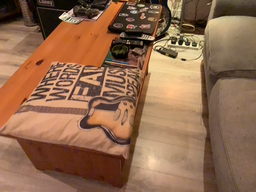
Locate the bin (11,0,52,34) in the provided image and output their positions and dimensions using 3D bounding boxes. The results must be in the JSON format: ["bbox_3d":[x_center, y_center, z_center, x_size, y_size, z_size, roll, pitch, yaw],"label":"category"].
[{"bbox_3d":[-1.040,-0.930,2.250,0.290,0.390,0.240,-24,51,-22],"label":"bin"}]
